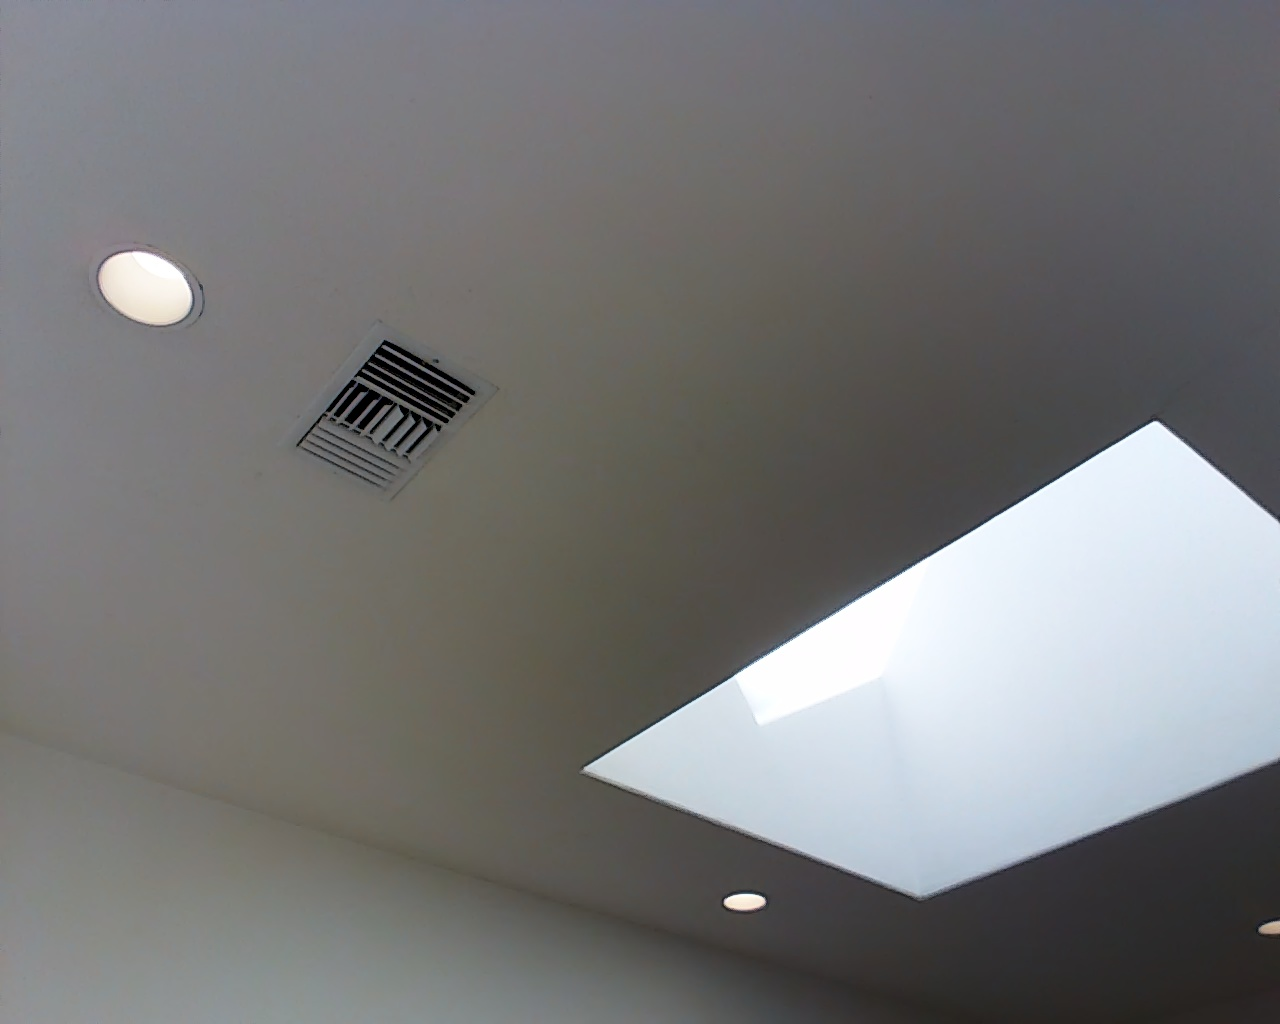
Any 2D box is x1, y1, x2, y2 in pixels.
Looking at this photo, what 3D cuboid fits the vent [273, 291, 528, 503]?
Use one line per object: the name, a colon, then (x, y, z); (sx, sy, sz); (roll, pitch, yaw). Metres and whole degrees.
vent: (-0.460, -0.200, 2.040); (0.300, 0.020, 0.430); (28, -49, -29)
